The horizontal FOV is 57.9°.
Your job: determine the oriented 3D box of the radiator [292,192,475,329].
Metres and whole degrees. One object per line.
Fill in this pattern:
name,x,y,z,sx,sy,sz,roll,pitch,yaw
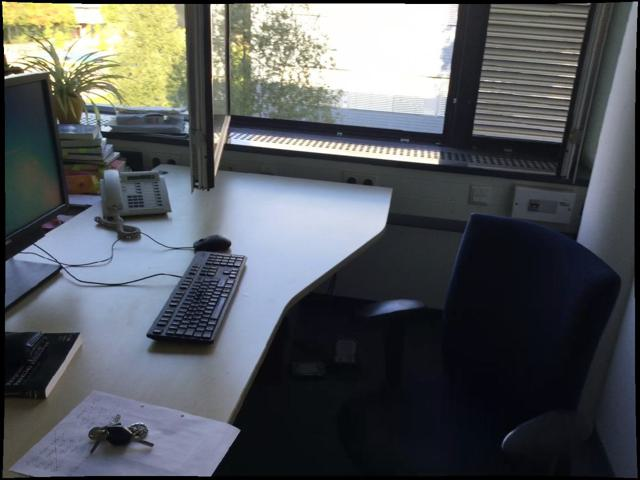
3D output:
radiator,0.280,0.090,2.720,0.779,0.500,0.280,5,25,6

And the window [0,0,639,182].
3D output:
window,-0.400,-1.221,2.470,3.317,1.651,0.320,5,25,6

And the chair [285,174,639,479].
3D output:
chair,0.370,0.410,1.560,0.650,0.921,0.710,-13,29,-30
